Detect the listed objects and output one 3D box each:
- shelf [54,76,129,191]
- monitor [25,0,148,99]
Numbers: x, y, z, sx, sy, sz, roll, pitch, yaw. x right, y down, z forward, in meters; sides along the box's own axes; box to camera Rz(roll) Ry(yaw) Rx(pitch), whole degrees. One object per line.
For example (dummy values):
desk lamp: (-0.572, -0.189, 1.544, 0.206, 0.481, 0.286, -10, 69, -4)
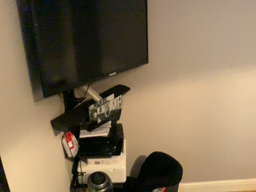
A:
shelf: (-0.200, 0.490, 1.600, 0.370, 1.190, 0.480, -3, 18, 1)
monitor: (-0.120, -0.390, 1.200, 0.050, 0.560, 0.940, 8, 20, 31)
